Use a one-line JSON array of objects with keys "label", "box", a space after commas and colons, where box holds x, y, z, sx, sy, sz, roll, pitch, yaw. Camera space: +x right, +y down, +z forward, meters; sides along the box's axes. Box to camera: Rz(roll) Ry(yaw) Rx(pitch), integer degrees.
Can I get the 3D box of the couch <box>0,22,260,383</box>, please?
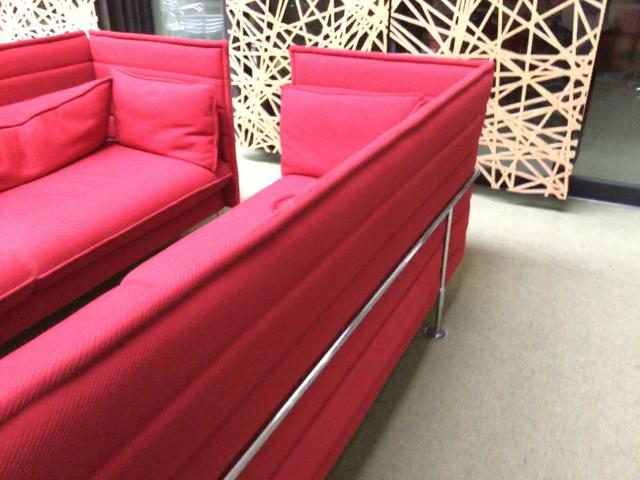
[{"label": "couch", "box": [-1.270, -0.160, 2.000, 0.930, 0.880, 2.450, 12, 28, 23]}]
